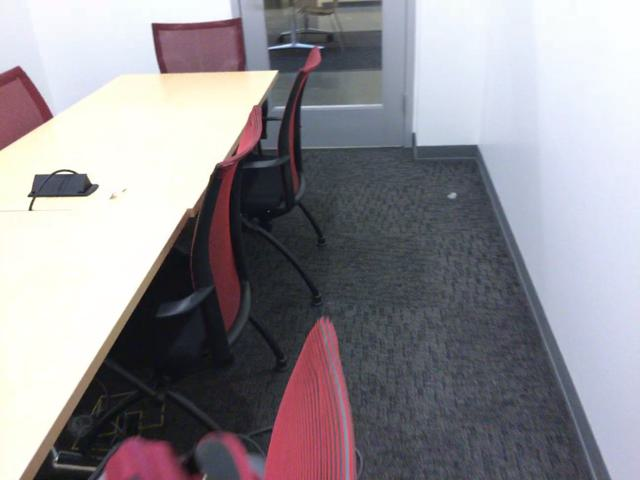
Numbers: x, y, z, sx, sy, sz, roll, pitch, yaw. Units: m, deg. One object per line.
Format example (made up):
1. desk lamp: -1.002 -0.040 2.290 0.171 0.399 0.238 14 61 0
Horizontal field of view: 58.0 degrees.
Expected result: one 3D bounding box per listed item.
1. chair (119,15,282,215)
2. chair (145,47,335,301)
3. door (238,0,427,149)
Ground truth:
1. chair: -0.540 -0.640 2.910 0.620 0.810 0.570 -5 30 -1
2. chair: -0.240 -0.260 2.220 0.510 0.800 0.560 0 30 7
3. door: 0.040 -1.850 3.090 1.080 2.820 0.180 1 30 9
